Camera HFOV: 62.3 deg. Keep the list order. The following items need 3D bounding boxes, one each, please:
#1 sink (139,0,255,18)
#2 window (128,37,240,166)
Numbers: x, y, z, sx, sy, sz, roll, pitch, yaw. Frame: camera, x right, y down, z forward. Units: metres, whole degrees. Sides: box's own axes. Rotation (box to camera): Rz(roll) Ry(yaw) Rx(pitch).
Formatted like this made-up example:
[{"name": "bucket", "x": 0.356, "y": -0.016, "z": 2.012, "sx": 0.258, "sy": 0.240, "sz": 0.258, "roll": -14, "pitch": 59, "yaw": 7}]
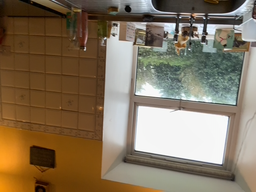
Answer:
[{"name": "sink", "x": 0.380, "y": -0.580, "z": 1.180, "sx": 0.570, "sy": 0.180, "sz": 0.430, "roll": 6, "pitch": -169, "yaw": 12}, {"name": "window", "x": 0.500, "y": 0.050, "z": 2.100, "sx": 0.940, "sy": 1.190, "sz": 0.070, "roll": 6, "pitch": -170, "yaw": 10}]
